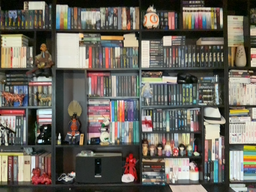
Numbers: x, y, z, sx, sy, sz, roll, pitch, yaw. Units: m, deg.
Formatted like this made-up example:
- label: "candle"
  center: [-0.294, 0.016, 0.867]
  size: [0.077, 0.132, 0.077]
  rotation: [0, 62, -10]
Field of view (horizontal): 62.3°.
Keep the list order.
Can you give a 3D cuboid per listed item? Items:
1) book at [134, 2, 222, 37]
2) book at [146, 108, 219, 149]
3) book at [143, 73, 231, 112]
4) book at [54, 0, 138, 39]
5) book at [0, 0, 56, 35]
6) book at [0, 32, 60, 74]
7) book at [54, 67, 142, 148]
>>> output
- label: "book"
  center: [0.470, -0.740, 2.080]
  size: [0.810, 0.250, 0.230]
  rotation: [0, -1, -1]
- label: "book"
  center: [0.520, 0.310, 2.110]
  size: [0.650, 0.360, 0.300]
  rotation: [0, -1, -1]
- label: "book"
  center: [0.560, -0.030, 2.120]
  size: [0.820, 0.360, 0.240]
  rotation: [0, -1, 3]
- label: "book"
  center: [-0.290, -0.780, 2.080]
  size: [0.770, 0.360, 0.260]
  rotation: [0, -1, -1]
- label: "book"
  center: [-1.150, -0.780, 2.060]
  size: [0.820, 0.300, 0.220]
  rotation: [0, -1, -1]
- label: "book"
  center: [-1.110, -0.410, 2.100]
  size: [0.780, 0.350, 0.290]
  rotation: [0, -1, -1]
- label: "book"
  center: [-0.280, 0.110, 2.100]
  size: [0.810, 0.760, 0.240]
  rotation: [0, -1, -1]
